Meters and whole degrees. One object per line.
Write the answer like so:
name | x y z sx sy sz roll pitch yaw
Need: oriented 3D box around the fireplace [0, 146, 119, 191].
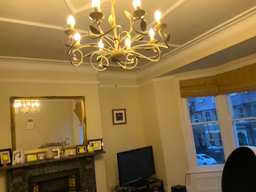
fireplace | -1.160 1.660 3.730 1.860 1.280 0.650 -2 -10 -28
